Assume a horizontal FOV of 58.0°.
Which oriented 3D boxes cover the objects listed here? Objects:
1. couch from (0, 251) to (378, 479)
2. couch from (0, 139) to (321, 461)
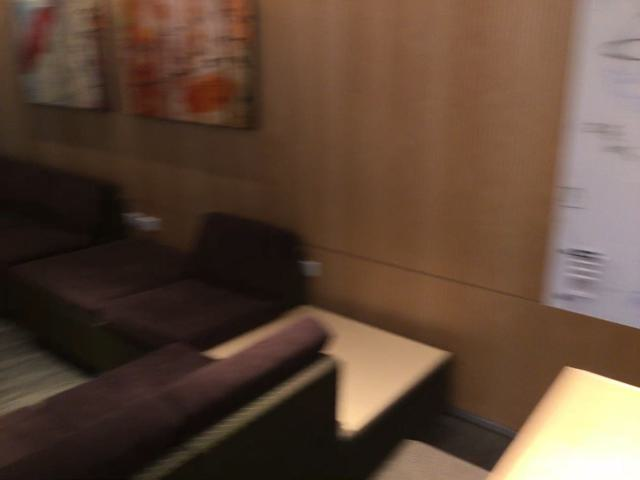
[{"bbox_3d":[-0.540,0.530,1.520,0.900,0.580,1.130,16,19,29],"label":"couch"},{"bbox_3d":[-1.600,0.010,3.220,3.180,0.780,0.850,16,19,29],"label":"couch"}]
